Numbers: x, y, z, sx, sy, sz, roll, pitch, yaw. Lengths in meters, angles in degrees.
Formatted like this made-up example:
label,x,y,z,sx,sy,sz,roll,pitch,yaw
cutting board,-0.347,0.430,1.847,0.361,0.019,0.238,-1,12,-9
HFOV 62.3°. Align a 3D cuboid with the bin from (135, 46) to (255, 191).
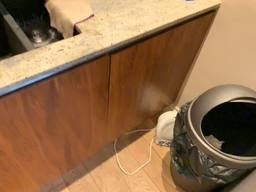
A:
label,x,y,z,sx,sy,sz,roll,pitch,yaw
bin,0.380,0.230,1.090,0.430,0.760,0.410,-30,60,-27
